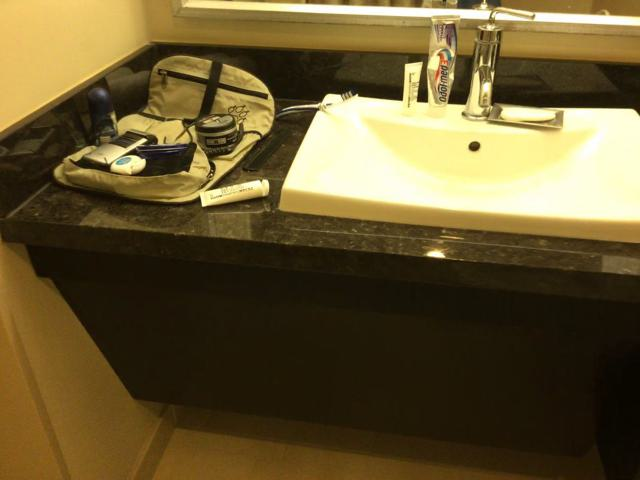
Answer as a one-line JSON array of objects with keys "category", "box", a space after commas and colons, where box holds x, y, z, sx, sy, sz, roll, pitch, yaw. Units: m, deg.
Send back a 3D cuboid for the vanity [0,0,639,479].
[{"category": "vanity", "box": [0.250, 0.040, 1.040, 1.370, 0.750, 0.610, 6, 33, 7]}]
